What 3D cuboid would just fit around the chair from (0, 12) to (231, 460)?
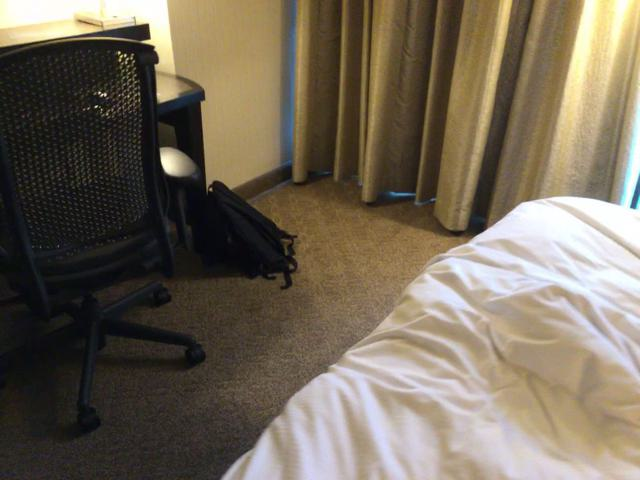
[{"bbox_3d":[-0.720,-0.060,1.730,0.600,1.060,0.630,-19,34,-31],"label":"chair"}]
